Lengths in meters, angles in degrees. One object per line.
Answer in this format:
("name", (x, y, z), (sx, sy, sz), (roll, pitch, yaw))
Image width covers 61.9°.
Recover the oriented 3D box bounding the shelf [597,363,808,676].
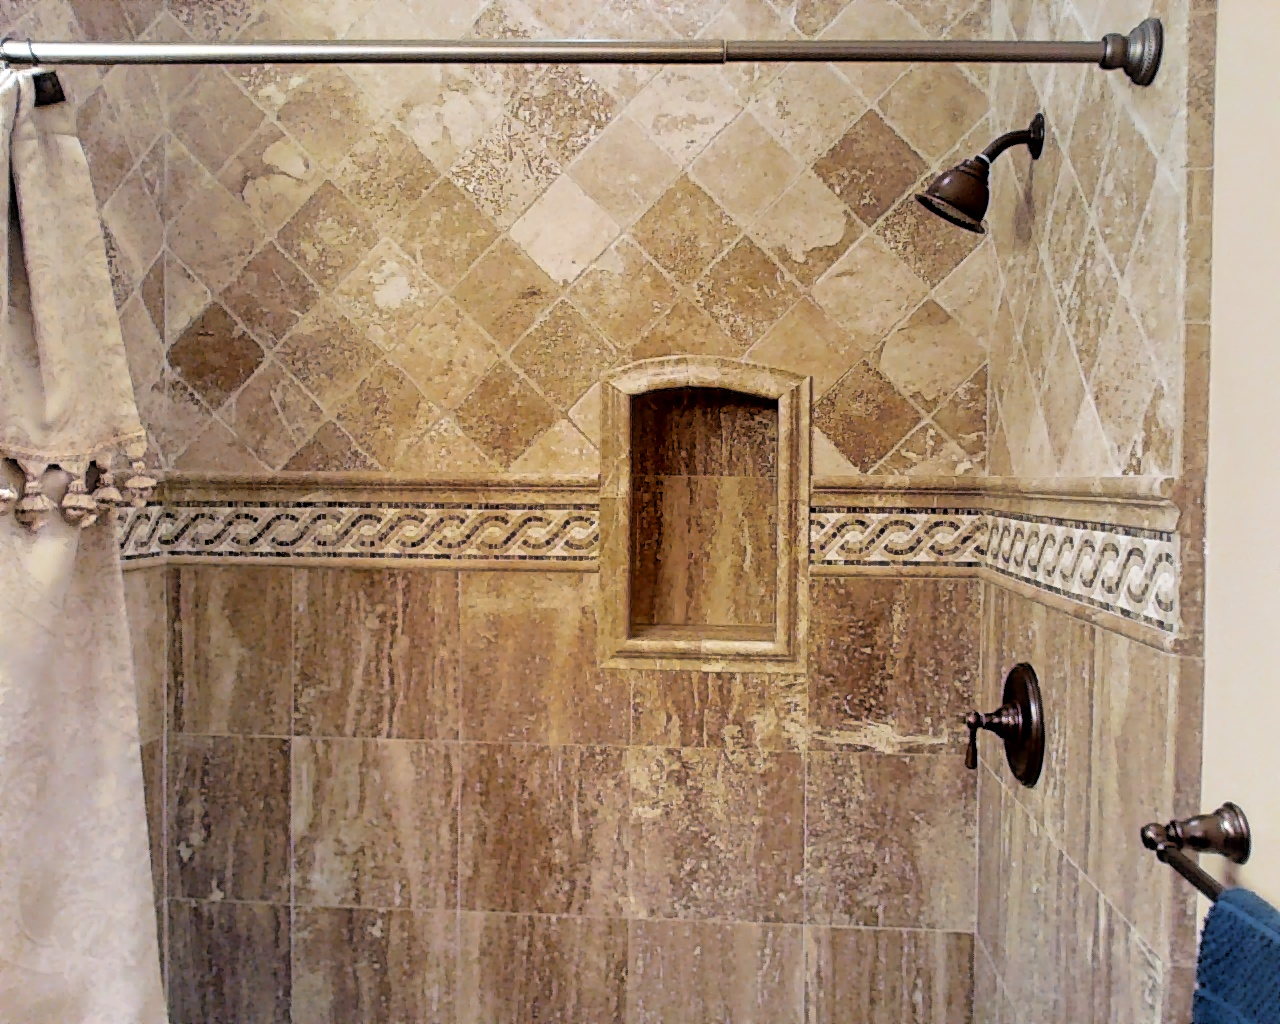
("shelf", (0.110, 0.010, 1.890), (0.350, 0.530, 0.120), (1, 2, 5))
